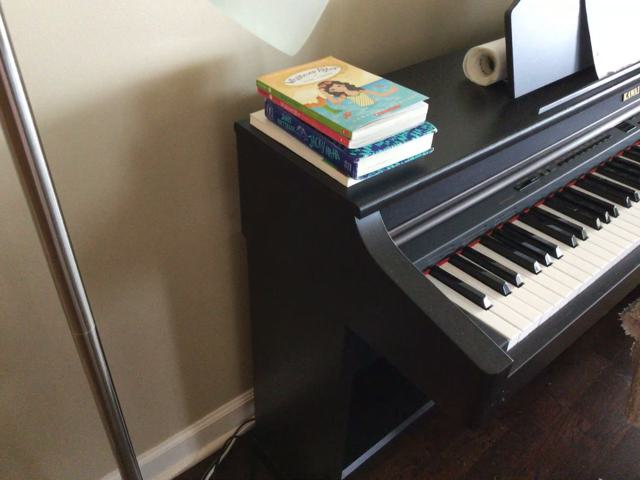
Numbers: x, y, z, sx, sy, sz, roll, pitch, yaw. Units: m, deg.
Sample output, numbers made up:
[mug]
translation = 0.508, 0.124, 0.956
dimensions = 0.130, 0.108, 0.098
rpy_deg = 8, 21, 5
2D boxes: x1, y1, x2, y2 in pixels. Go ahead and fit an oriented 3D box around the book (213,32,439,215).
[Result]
[book]
translation = 0.000, -0.170, 0.780
dimensions = 0.170, 0.110, 0.250
rpy_deg = -26, 48, -30
